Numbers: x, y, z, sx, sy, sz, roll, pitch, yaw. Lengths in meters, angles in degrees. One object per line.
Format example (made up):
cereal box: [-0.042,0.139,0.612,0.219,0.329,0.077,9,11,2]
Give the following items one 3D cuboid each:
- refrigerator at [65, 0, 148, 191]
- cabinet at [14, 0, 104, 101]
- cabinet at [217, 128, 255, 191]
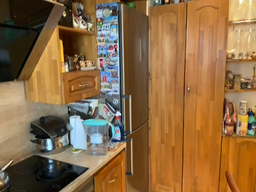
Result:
refrigerator: [-0.160,0.180,2.190,0.550,2.000,0.610,4,11,25]
cabinet: [-0.500,-0.640,1.590,0.390,1.260,0.490,4,11,25]
cabinet: [1.130,0.770,2.150,0.390,0.810,0.220,4,11,25]
